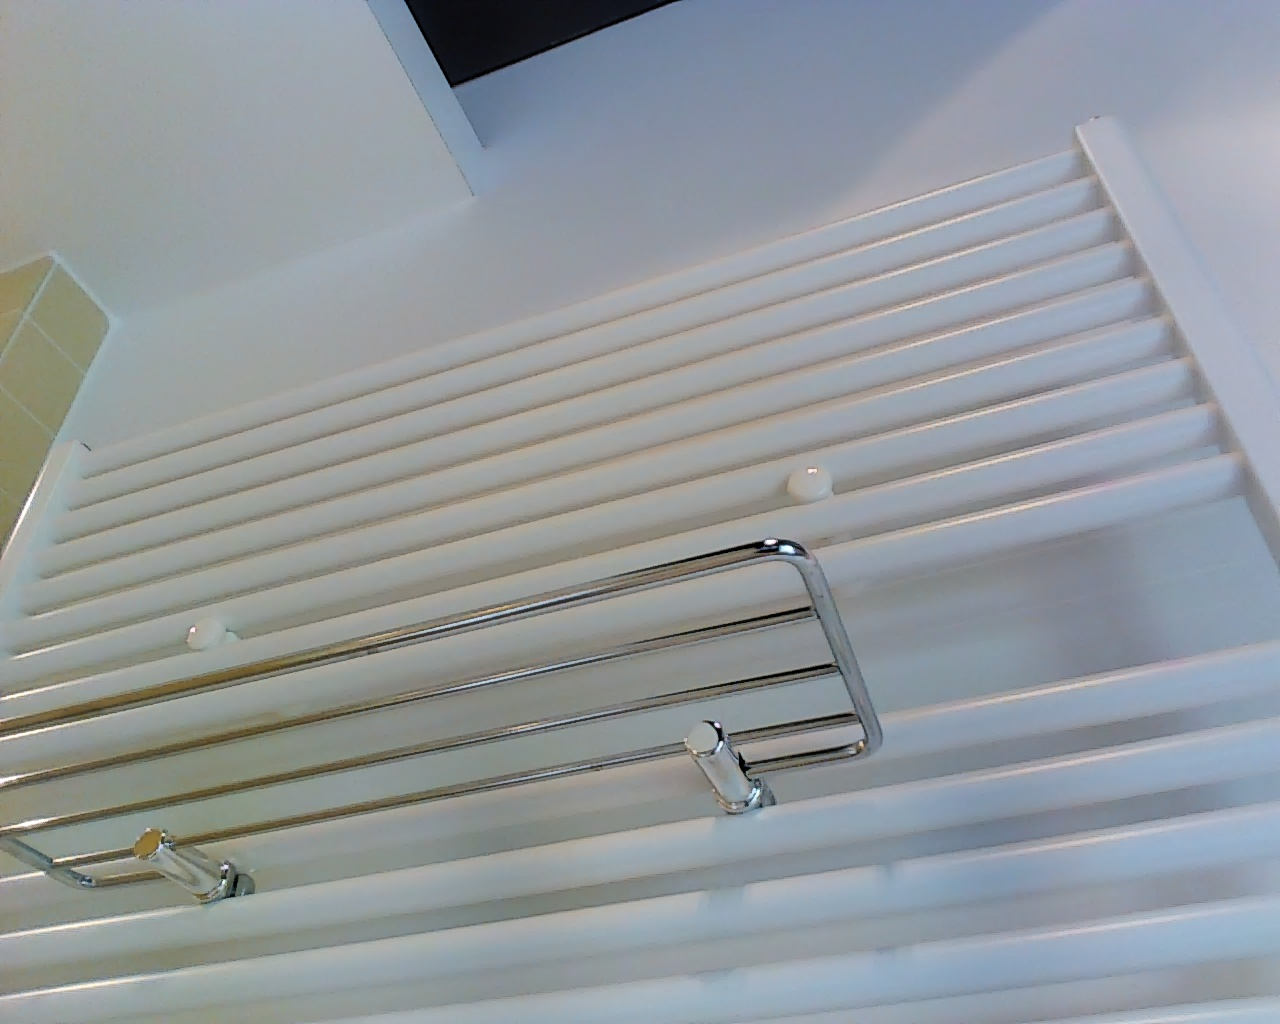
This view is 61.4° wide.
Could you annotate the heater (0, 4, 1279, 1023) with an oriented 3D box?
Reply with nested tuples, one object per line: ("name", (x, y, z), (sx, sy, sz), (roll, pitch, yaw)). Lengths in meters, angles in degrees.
("heater", (-0.060, 0.580, 0.240), (1.050, 2.020, 0.130), (-14, -43, 15))
